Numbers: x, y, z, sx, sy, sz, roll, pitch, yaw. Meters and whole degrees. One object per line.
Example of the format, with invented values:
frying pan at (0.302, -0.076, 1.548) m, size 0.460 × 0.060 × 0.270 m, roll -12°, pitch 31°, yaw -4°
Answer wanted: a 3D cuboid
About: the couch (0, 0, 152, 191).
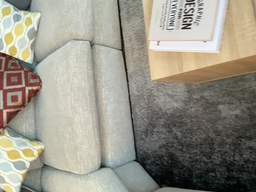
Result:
couch at (-0.580, 0.150, 1.460) m, size 1.030 × 0.880 × 3.000 m, roll -12°, pitch 83°, yaw 42°
